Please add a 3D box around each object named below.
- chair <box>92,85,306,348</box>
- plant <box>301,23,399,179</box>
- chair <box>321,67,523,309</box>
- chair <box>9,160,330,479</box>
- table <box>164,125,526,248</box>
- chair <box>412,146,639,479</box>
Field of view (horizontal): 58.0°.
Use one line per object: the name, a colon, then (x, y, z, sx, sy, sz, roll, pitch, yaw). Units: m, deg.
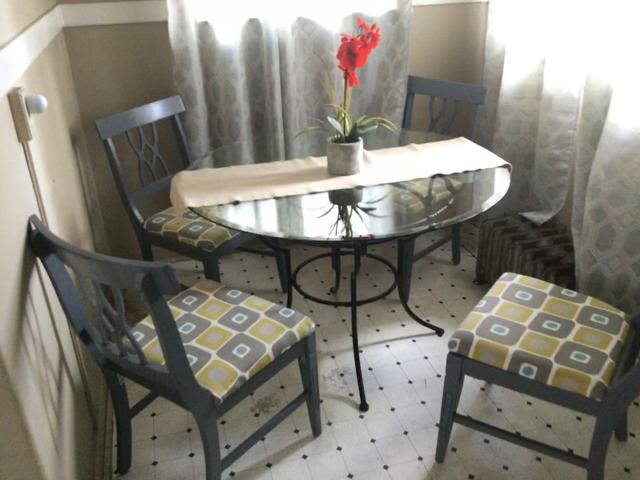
chair: (-0.520, -0.160, 2.490, 0.690, 0.810, 0.790, -9, 26, -15)
plant: (0.100, -0.470, 1.940, 0.260, 0.460, 0.200, -9, 26, -15)
chair: (0.420, -0.280, 2.690, 0.630, 0.880, 0.670, -9, 26, -15)
chair: (-0.360, 0.290, 1.640, 0.520, 0.840, 0.570, 16, 31, 34)
table: (0.080, -0.220, 2.030, 1.180, 0.150, 0.420, -9, 26, -15)
chair: (0.680, 0.260, 1.580, 0.630, 0.830, 0.560, 16, 31, 34)
